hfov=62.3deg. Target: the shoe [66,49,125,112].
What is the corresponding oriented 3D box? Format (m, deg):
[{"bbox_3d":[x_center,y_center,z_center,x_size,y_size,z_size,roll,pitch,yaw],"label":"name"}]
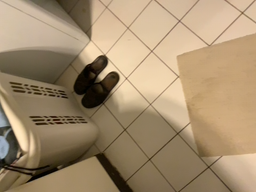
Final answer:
[{"bbox_3d":[-0.200,-0.090,1.260,0.260,0.060,0.260,46,103,18],"label":"shoe"}]
